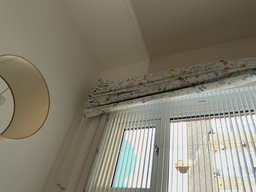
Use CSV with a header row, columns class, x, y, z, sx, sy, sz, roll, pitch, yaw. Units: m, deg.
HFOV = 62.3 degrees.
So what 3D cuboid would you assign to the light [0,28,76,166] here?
class,x,y,z,sx,sy,sz,roll,pitch,yaw
light,-0.580,0.030,0.970,0.430,0.440,0.340,-23,-57,31
